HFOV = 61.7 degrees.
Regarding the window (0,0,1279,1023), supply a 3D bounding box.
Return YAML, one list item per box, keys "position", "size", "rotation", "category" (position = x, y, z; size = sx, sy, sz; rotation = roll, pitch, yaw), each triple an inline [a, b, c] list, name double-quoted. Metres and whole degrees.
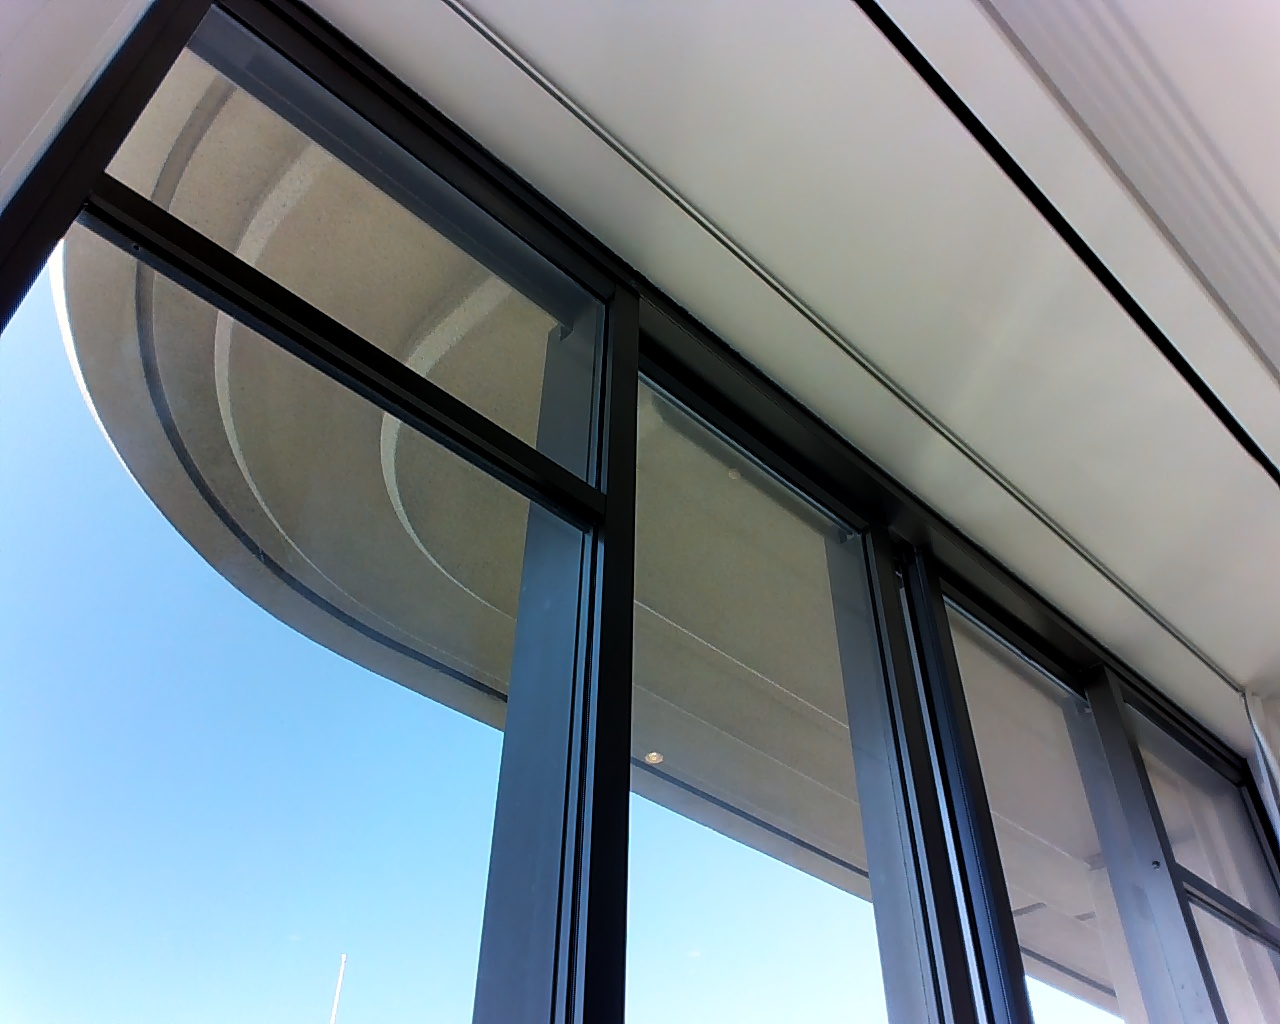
- position: [0.340, 0.950, 0.980]
  size: [2.460, 2.660, 0.120]
  rotation: [33, -50, -30]
  category: "window"
